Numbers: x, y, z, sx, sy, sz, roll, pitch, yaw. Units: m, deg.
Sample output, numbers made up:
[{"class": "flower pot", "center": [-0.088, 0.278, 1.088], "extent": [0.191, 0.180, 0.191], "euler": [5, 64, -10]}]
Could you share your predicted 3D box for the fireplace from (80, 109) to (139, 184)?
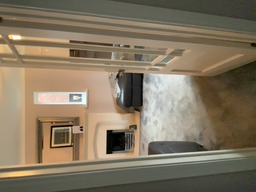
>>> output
[{"class": "fireplace", "center": [-0.410, 1.000, 4.540], "extent": [0.600, 1.130, 1.400], "euler": [-178, 88, -72]}]
